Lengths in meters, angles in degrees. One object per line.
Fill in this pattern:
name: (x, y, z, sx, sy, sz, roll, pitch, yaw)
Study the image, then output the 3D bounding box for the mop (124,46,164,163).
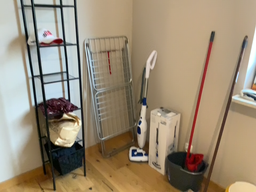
mop: (0.150, 0.100, 2.300, 0.210, 1.210, 0.310, -16, 26, -39)

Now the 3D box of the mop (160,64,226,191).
mop: (0.540, 0.320, 1.880, 0.260, 1.130, 0.340, -17, 27, -41)
